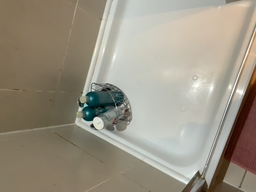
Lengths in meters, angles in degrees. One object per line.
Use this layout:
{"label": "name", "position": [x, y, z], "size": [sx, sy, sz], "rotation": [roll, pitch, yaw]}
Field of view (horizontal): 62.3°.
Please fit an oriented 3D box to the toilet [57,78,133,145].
{"label": "toilet", "position": [-0.160, 0.070, 1.050], "size": [0.230, 0.220, 0.200], "rotation": [47, 111, 22]}
